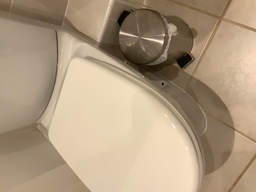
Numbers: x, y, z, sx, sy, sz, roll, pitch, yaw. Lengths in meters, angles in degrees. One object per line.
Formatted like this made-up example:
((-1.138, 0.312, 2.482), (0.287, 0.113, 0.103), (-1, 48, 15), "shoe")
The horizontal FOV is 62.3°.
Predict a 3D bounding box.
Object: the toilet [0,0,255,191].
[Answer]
((-0.090, 0.050, 0.630), (0.670, 0.770, 0.390), (33, 114, 26), "toilet")
